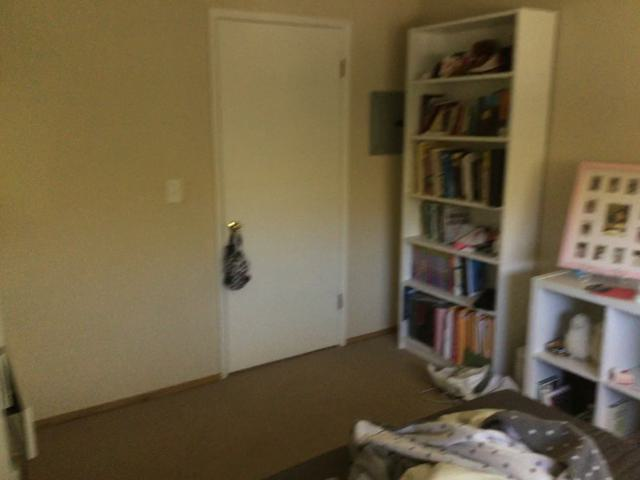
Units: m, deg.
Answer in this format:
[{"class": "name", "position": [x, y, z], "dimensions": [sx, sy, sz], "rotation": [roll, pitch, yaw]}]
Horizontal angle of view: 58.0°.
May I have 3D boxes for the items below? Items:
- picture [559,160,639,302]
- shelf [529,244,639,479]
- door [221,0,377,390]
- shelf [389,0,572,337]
[{"class": "picture", "position": [1.300, -0.060, 2.420], "dimensions": [0.350, 0.520, 0.390], "rotation": [-7, 12, -29]}, {"class": "shelf", "position": [1.520, 0.580, 2.110], "dimensions": [0.440, 0.870, 1.450], "rotation": [-7, 12, -29]}, {"class": "door", "position": [-0.120, -0.230, 3.220], "dimensions": [0.830, 2.030, 0.170], "rotation": [-3, 10, -30]}, {"class": "shelf", "position": [0.790, -0.400, 3.080], "dimensions": [0.400, 1.580, 0.860], "rotation": [-7, 12, -29]}]
